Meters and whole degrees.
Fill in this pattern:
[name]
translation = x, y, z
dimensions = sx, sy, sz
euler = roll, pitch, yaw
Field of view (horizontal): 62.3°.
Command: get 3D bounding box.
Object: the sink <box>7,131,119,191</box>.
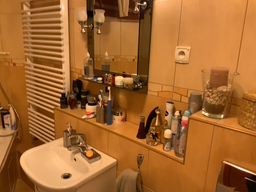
[sink]
translation = -0.400, 0.440, 1.310
dimensions = 0.540, 0.170, 0.420
euler = 14, 19, 38
